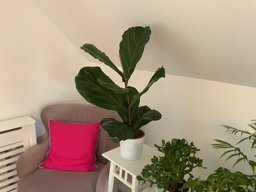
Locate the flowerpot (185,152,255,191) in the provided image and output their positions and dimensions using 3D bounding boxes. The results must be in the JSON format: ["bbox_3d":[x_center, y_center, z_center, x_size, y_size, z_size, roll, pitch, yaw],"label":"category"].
[{"bbox_3d":[0.510,0.500,1.120,0.410,0.200,0.230,-12,20,-42],"label":"flowerpot"}]

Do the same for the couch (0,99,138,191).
[{"bbox_3d":[-0.450,0.600,1.830,0.920,0.920,0.730,5,15,11],"label":"couch"}]
